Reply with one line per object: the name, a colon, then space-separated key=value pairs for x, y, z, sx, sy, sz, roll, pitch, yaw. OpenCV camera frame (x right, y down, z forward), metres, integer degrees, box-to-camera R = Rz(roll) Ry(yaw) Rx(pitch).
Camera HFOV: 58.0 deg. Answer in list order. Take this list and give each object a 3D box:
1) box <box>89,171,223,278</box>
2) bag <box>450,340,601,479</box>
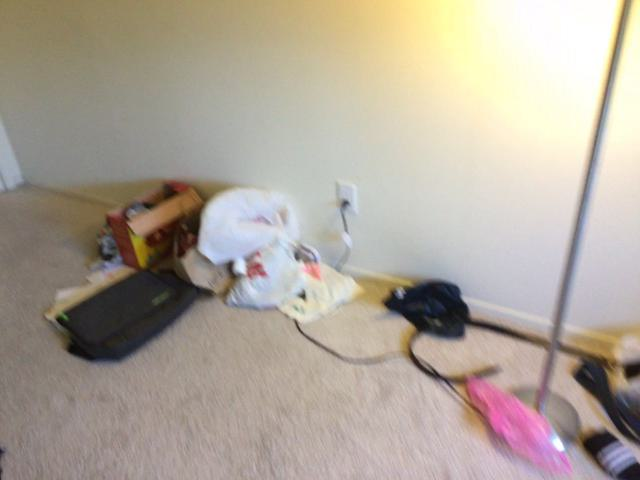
box: x=-0.680 y=-0.080 z=2.440 sx=0.350 sy=0.260 sz=0.350 roll=13 pitch=35 yaw=29
bag: x=0.580 y=0.460 z=1.620 sx=0.320 sy=0.080 sz=0.350 roll=13 pitch=35 yaw=29
